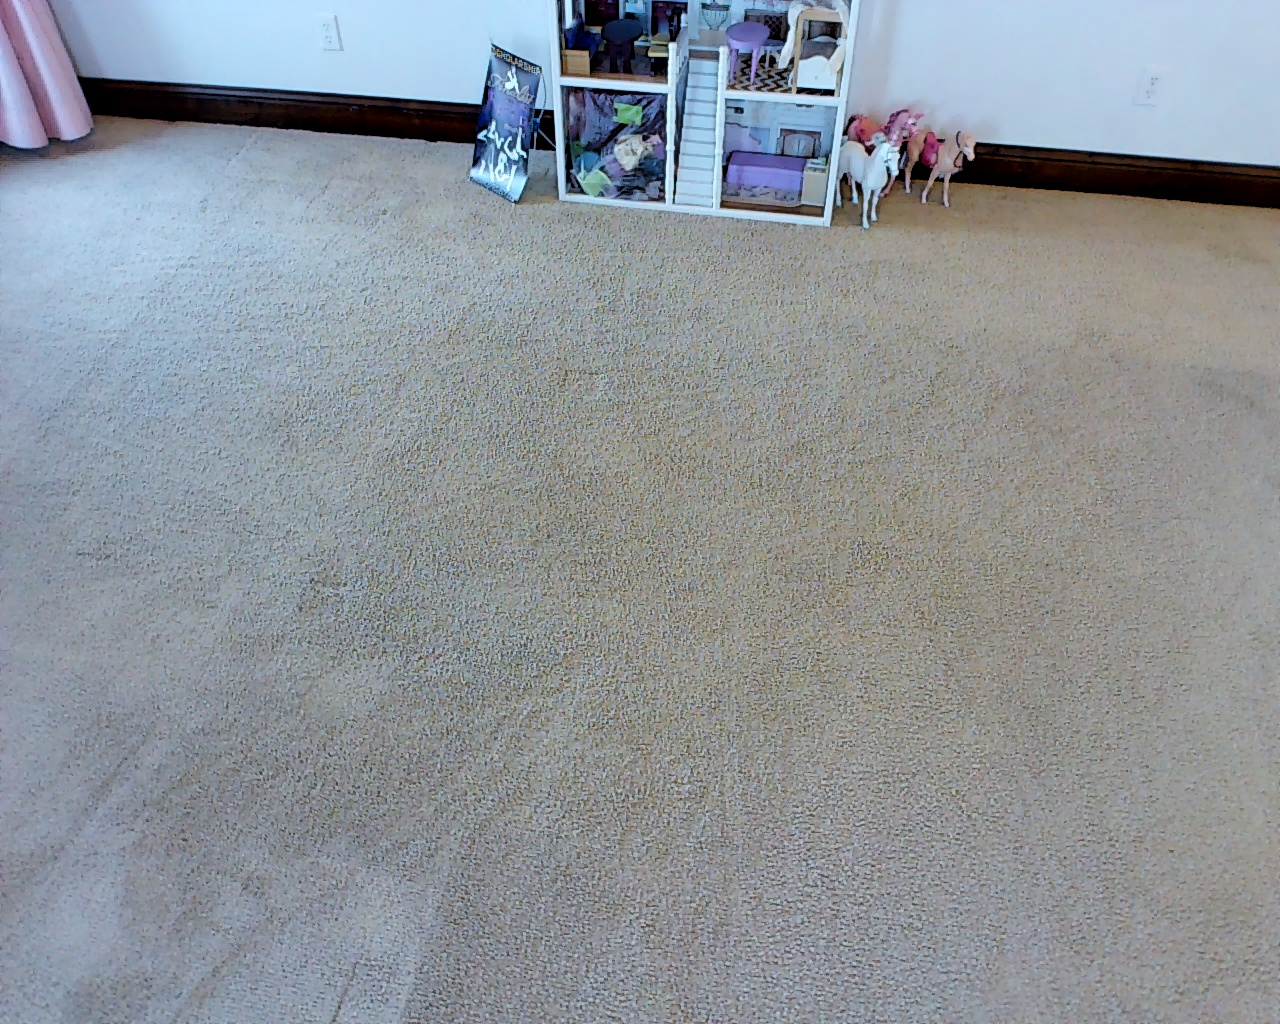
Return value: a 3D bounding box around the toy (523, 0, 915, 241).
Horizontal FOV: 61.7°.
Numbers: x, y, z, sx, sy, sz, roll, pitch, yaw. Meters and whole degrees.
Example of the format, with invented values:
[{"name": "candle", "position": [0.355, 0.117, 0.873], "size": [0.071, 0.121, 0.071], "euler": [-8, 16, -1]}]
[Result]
[{"name": "toy", "position": [0.220, -1.450, 2.880], "size": [1.010, 1.300, 0.380], "euler": [7, 45, 7]}]
